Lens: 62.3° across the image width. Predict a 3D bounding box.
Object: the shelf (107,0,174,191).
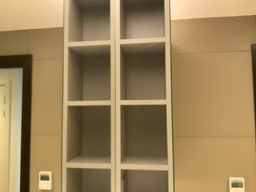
[{"bbox_3d":[0.060,0.050,0.960,0.260,1.040,0.230,-1,-4,7],"label":"shelf"}]
